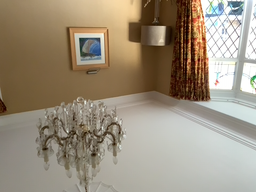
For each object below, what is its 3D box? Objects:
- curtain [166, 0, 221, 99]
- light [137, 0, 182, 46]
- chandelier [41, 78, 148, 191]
[{"bbox_3d":[1.010,-1.250,3.270,0.420,2.500,0.610,-9,-161,-26],"label":"curtain"},{"bbox_3d":[0.500,-1.720,3.360,0.510,1.760,0.530,-8,-161,-23],"label":"light"},{"bbox_3d":[-0.340,0.410,1.790,0.550,0.790,0.770,-10,-142,-28],"label":"chandelier"}]
